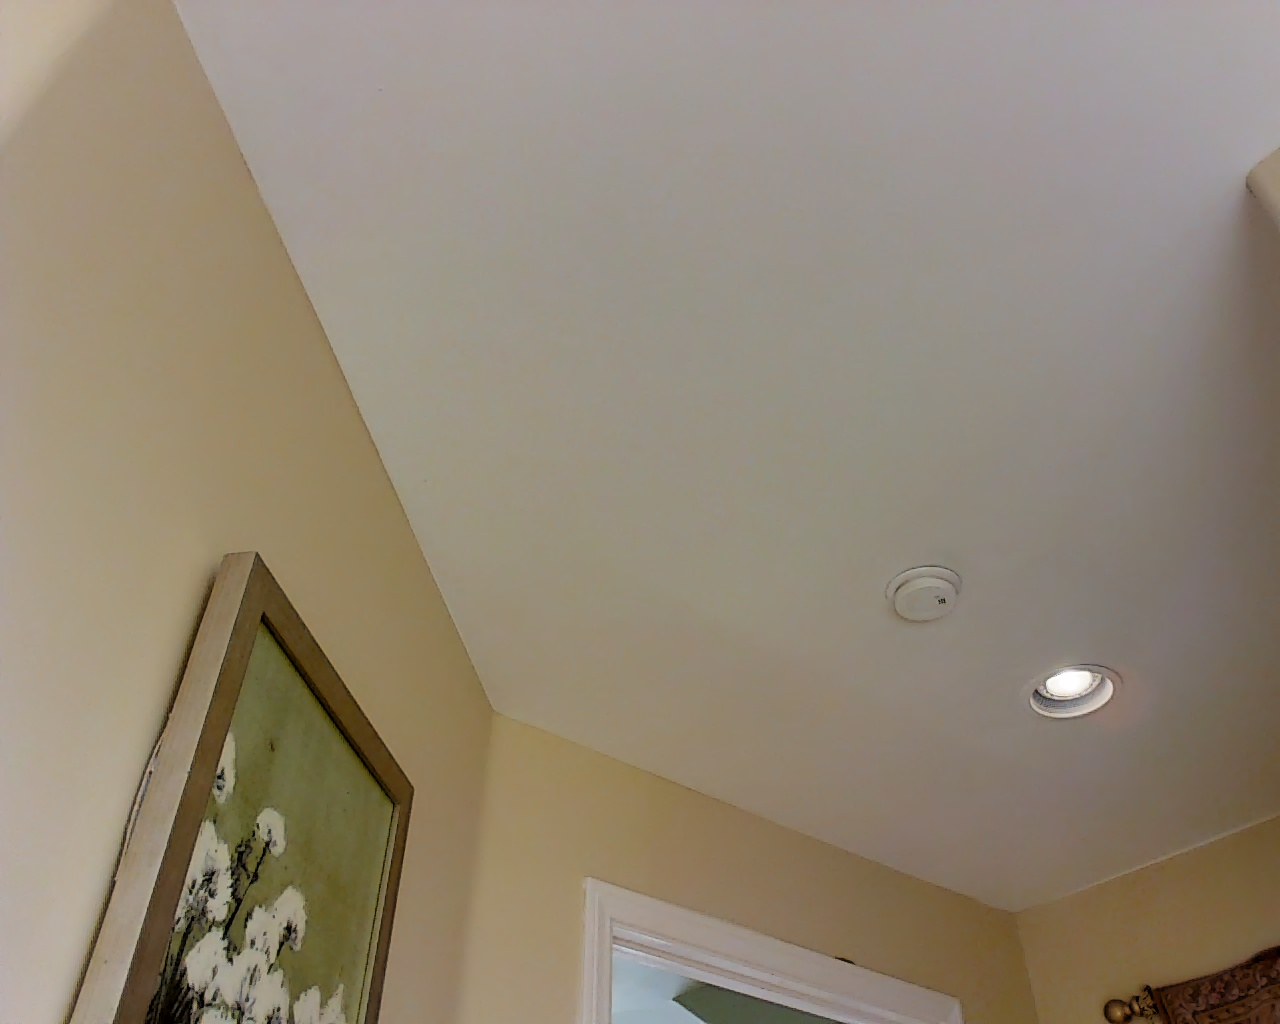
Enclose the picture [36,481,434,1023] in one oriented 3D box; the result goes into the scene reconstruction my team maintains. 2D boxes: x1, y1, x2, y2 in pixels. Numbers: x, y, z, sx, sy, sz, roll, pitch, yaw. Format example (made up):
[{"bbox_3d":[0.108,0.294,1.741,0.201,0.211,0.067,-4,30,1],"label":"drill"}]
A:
[{"bbox_3d":[-0.360,0.560,0.950,0.060,1.080,0.560,-5,-42,6],"label":"picture"}]
